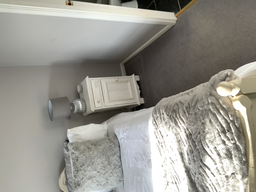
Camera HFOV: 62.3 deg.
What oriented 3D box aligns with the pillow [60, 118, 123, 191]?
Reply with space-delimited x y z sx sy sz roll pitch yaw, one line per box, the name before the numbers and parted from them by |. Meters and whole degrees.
pillow | -0.390 0.640 2.120 0.540 0.370 0.730 -23 75 60
